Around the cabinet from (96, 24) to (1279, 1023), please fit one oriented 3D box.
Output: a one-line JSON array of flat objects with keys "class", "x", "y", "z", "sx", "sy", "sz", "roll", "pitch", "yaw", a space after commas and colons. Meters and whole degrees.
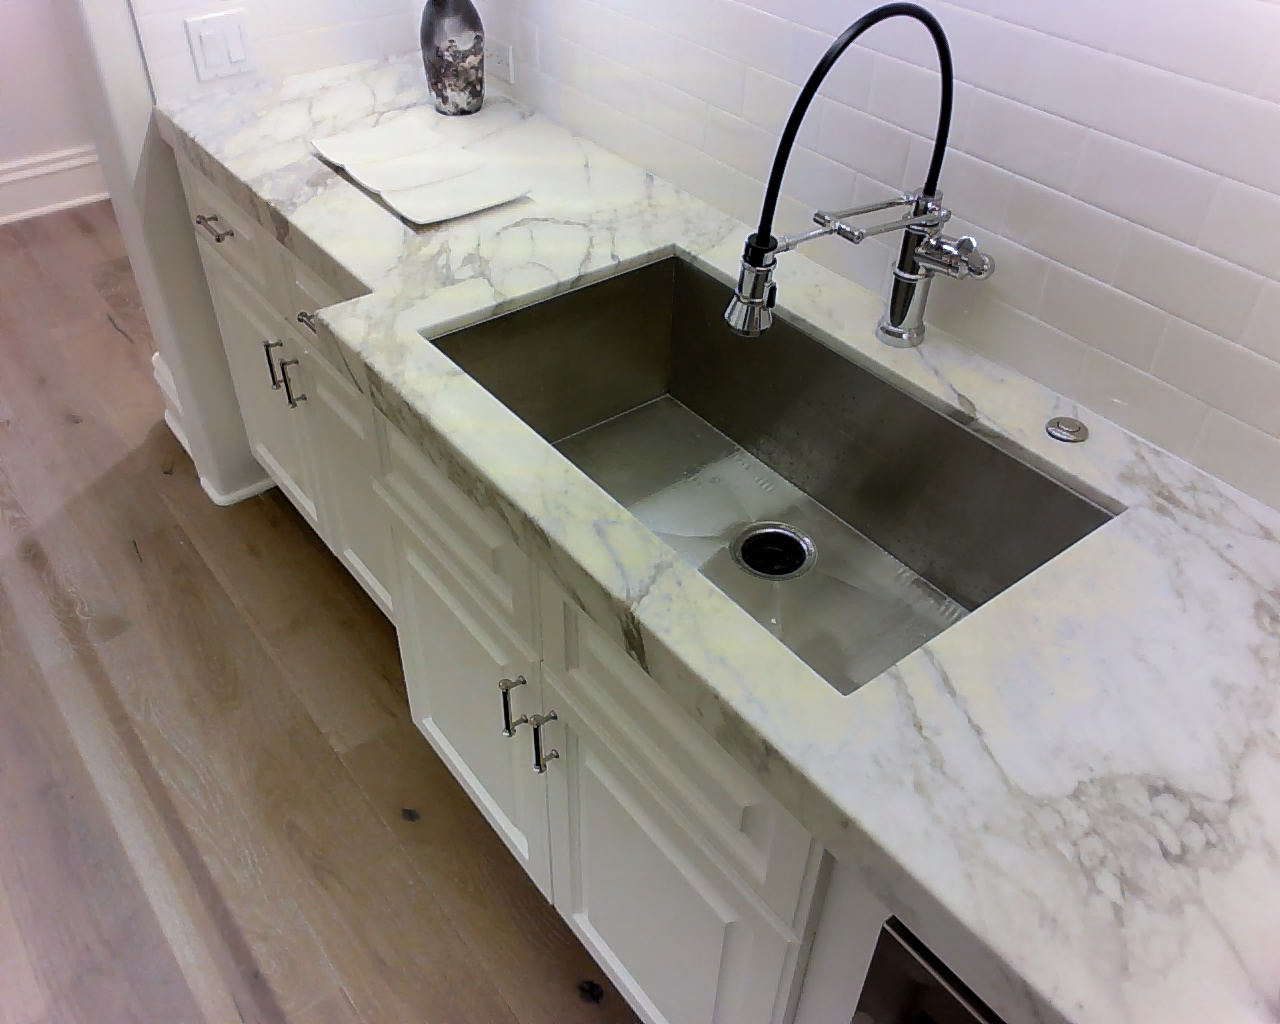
[{"class": "cabinet", "x": 0.080, "y": 0.180, "z": 1.620, "sx": 0.660, "sy": 0.980, "sz": 2.640, "roll": -26, "pitch": 48, "yaw": -28}]
